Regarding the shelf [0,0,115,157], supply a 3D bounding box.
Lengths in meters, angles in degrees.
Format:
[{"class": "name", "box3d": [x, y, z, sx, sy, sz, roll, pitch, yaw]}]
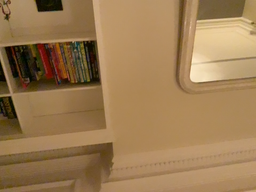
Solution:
[{"class": "shelf", "box3d": [-0.850, -0.520, 1.390, 1.390, 1.890, 0.510, -5, -154, -6]}]
